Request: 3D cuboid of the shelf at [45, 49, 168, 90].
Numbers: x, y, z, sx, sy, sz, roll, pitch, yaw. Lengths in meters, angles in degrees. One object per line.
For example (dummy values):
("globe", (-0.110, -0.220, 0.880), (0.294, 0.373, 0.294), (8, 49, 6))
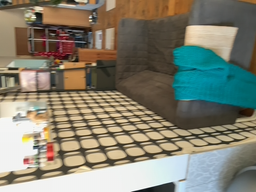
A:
("shelf", (-0.220, -0.310, 2.440), (0.350, 1.350, 0.370), (-149, 60, -63))
